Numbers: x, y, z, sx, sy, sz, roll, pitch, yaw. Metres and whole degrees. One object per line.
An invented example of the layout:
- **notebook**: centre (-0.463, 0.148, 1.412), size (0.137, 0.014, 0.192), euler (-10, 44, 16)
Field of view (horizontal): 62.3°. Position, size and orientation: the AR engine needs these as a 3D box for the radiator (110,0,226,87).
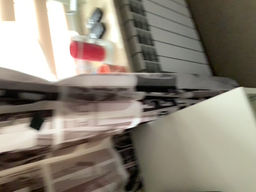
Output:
- **radiator**: centre (0.190, -0.520, 1.180), size (0.100, 0.670, 0.950), euler (-28, 69, 46)
